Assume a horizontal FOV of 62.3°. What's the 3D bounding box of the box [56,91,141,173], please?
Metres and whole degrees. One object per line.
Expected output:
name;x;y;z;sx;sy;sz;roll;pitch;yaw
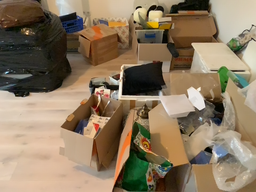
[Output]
box;-0.240;0.250;1.640;0.550;0.290;0.450;-9;39;-14
